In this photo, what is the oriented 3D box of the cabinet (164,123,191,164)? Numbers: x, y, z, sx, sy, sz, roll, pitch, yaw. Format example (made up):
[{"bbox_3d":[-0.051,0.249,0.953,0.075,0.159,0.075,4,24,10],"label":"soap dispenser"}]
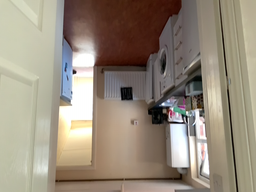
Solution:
[{"bbox_3d":[0.880,0.850,3.880,0.370,0.670,0.540,-1,170,3],"label":"cabinet"}]
